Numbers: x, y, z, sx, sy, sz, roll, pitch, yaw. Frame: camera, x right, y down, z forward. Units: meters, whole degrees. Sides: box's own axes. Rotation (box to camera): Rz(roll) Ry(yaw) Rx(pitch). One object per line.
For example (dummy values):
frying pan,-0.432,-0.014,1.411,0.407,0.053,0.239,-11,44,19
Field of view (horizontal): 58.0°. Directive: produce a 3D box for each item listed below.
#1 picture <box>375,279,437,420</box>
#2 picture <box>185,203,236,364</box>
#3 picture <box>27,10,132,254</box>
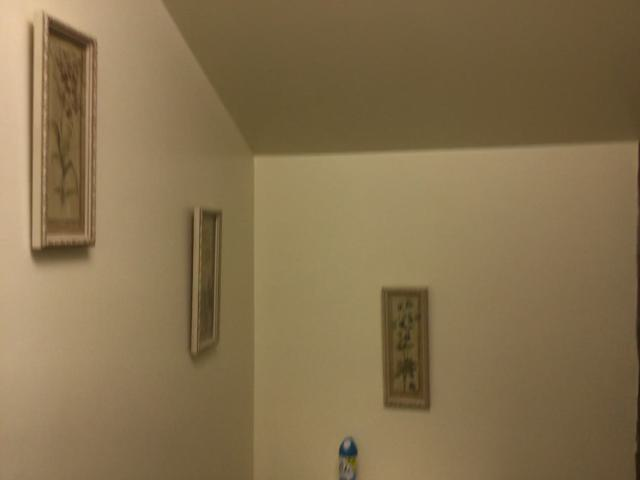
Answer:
picture,0.240,0.300,1.610,0.160,0.380,0.030,-1,-2,14
picture,-0.260,0.100,1.390,0.040,0.360,0.190,-1,-2,14
picture,-0.370,-0.150,0.910,0.040,0.340,0.200,-1,-2,14
